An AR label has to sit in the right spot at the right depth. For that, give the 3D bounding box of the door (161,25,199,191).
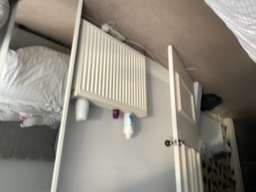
[{"bbox_3d":[0.530,0.590,1.990,0.110,2.330,0.930,-8,158,22],"label":"door"}]

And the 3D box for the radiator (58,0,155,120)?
[{"bbox_3d":[-0.100,-0.240,1.690,0.090,0.720,0.850,-19,153,42],"label":"radiator"}]
